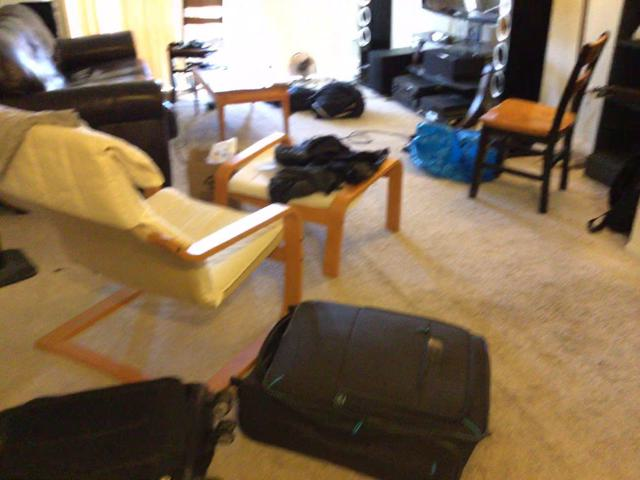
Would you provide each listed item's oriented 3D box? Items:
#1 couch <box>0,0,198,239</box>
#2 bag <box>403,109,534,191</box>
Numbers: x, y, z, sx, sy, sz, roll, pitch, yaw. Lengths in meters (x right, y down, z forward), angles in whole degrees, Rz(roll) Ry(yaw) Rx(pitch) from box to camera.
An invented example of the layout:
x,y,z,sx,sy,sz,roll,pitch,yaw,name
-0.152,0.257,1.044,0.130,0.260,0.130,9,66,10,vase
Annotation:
x,y,z,sx,sy,sz,roll,pitch,yaw,name
-1.470,-0.960,3.660,0.930,1.010,2.090,-11,27,-17,couch
0.860,-0.560,3.470,0.510,0.270,0.620,-9,27,-13,bag
